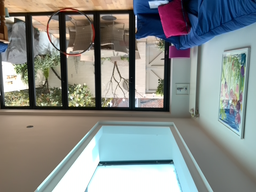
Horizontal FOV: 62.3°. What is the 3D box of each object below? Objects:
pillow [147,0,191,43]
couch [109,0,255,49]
[{"bbox_3d":[0.500,-0.950,2.700,0.320,0.390,0.580,-20,-172,0],"label":"pillow"},{"bbox_3d":[0.550,-1.060,2.200,1.140,0.870,2.460,1,-173,3],"label":"couch"}]
